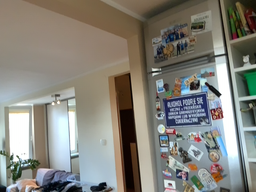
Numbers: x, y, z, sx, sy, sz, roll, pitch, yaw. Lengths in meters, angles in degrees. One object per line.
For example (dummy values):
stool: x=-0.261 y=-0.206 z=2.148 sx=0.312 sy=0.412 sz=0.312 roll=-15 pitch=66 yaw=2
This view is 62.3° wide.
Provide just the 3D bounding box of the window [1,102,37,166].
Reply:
window: x=-2.990 y=0.980 z=5.840 sx=0.130 sy=1.640 sz=0.840 roll=-10 pitch=-8 yaw=40
